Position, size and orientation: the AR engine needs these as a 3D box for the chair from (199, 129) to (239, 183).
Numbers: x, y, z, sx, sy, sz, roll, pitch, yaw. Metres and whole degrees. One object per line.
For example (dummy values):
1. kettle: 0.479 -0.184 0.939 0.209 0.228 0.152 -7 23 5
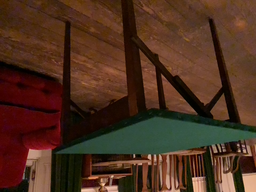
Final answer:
1. chair: 2.170 1.440 5.110 0.460 1.160 0.540 16 152 -42
